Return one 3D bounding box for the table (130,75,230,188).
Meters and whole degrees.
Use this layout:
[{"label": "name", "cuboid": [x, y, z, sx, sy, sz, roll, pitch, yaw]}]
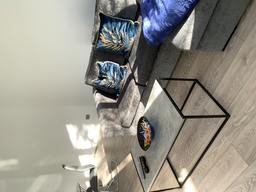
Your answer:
[{"label": "table", "cuboid": [0.400, 0.340, 1.990, 0.530, 0.430, 0.910, -114, 32, -47]}]
